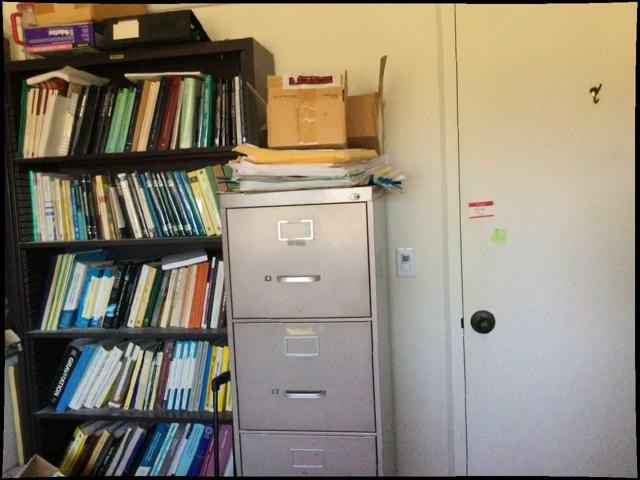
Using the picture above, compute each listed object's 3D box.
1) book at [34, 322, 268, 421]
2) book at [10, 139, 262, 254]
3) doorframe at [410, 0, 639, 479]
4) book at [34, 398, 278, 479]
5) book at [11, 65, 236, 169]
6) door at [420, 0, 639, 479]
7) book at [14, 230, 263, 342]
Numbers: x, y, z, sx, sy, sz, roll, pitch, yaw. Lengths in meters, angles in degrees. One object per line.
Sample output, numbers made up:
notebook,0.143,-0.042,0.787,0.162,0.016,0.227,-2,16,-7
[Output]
book,-0.648,0.511,2.250,0.828,0.301,0.250,-4,5,11
book,-0.688,-0.160,2.200,0.868,0.351,0.260,-4,5,11
doorframe,0.938,0.201,2.030,1.097,2.035,0.090,-3,5,11
book,-0.628,0.812,2.250,0.868,0.291,0.260,-4,5,11
book,-0.708,-0.431,2.090,0.768,0.281,0.160,-4,5,11
door,0.938,0.130,2.030,1.027,2.236,0.120,-3,5,11
book,-0.678,0.170,2.210,0.838,0.341,0.300,-4,5,11
